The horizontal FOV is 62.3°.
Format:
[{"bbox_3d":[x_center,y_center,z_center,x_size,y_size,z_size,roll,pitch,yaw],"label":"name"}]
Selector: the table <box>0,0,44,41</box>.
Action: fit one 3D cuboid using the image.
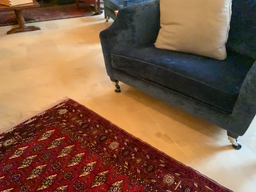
[{"bbox_3d":[-1.900,-1.360,3.580,0.630,0.450,1.010,-17,38,-23],"label":"table"}]
